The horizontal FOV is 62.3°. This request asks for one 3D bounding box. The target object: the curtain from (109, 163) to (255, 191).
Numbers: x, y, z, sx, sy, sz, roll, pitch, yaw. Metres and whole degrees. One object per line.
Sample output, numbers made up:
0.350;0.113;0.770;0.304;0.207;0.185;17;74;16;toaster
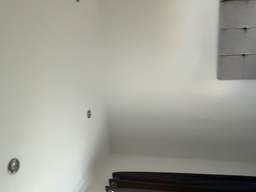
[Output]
0.550;0.880;2.000;0.400;1.380;0.220;-37;-54;-73;curtain
